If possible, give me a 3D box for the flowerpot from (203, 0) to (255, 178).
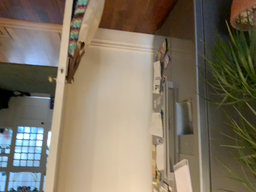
[{"bbox_3d":[0.690,-0.180,1.090,0.440,1.090,0.310,4,168,-10],"label":"flowerpot"}]
